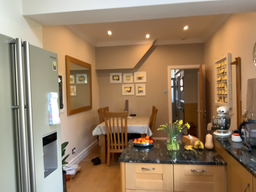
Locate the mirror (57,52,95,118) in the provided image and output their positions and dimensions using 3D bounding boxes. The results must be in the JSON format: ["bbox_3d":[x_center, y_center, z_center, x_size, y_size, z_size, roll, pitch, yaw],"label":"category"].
[{"bbox_3d":[-1.060,-0.220,4.610,0.170,1.180,1.540,-1,2,10],"label":"mirror"}]

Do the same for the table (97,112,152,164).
[{"bbox_3d":[0.020,0.890,5.000,1.040,0.830,1.690,-1,2,8],"label":"table"}]

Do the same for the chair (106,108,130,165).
[{"bbox_3d":[-0.190,0.800,4.290,0.450,1.070,0.420,-1,2,2],"label":"chair"}]
